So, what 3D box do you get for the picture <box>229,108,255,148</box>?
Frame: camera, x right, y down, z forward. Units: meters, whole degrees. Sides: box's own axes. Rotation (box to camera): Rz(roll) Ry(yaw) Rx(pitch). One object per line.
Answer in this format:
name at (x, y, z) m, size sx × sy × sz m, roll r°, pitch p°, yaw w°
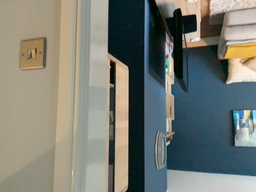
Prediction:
picture at (2.370, 0.530, 3.510) m, size 1.240 × 0.670 × 0.020 m, roll -1°, pitch 175°, yaw 18°
